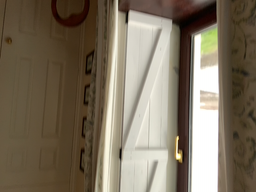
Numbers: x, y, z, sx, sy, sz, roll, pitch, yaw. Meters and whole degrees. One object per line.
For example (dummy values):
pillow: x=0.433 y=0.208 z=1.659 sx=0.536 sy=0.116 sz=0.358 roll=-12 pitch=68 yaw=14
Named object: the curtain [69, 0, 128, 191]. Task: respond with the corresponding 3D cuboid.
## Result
curtain: x=-0.200 y=0.200 z=1.310 sx=0.180 sy=2.110 sz=0.360 roll=6 pitch=174 yaw=-27
